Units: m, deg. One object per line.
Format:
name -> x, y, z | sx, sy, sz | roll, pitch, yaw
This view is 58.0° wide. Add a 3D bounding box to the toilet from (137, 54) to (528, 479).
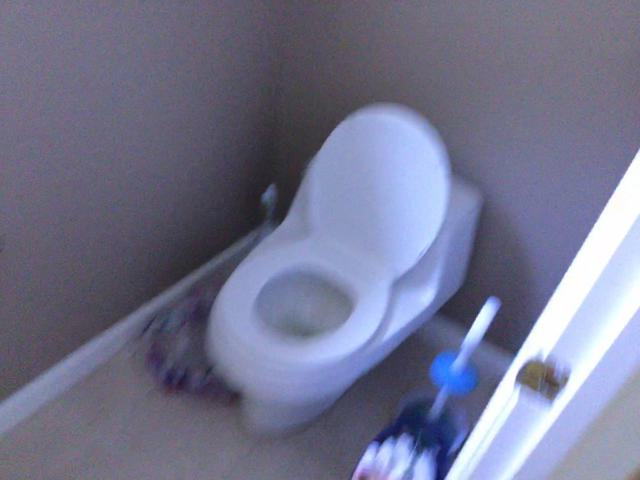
toilet -> 0.030, 0.030, 1.370 | 0.500, 0.640, 0.700 | 29, 41, 22
